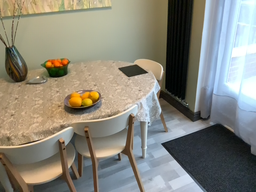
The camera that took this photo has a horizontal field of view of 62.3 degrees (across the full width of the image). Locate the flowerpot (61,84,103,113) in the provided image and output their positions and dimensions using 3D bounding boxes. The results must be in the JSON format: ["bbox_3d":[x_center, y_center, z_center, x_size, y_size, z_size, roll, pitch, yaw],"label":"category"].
[{"bbox_3d":[-0.330,0.010,1.510,0.250,0.070,0.220,-12,29,-18],"label":"flowerpot"}]
